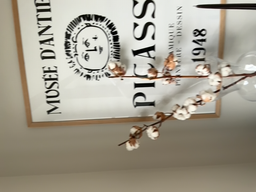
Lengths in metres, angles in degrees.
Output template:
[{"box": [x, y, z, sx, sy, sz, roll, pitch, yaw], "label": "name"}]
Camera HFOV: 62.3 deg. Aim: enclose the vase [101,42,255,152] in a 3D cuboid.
[{"box": [0.270, -0.020, 0.910, 0.260, 0.730, 0.390, -106, 14, -78], "label": "vase"}]
